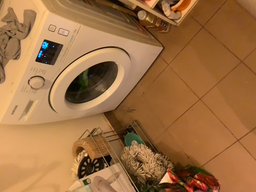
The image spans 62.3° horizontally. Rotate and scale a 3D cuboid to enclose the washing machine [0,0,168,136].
[{"bbox_3d":[-0.380,-0.310,1.310,0.630,0.850,0.740,-50,64,25],"label":"washing machine"}]
